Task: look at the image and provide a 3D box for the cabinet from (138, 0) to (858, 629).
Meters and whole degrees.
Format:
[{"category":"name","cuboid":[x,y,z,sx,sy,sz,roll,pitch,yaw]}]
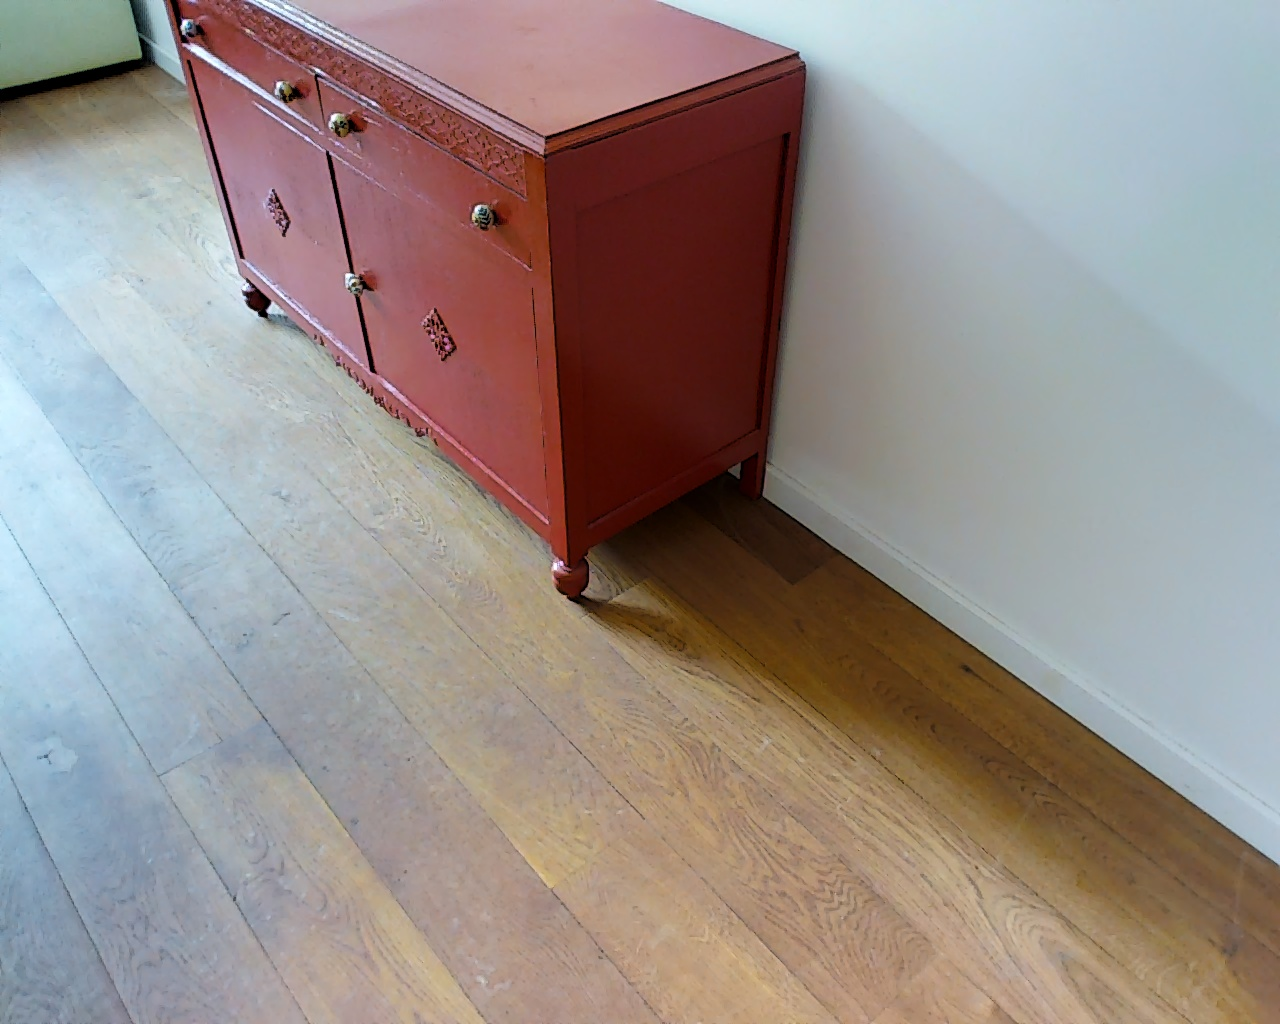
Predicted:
[{"category":"cabinet","cuboid":[-0.360,-0.610,2.110,0.570,0.910,1.380,-29,50,-30]}]
